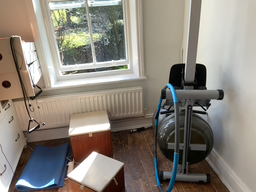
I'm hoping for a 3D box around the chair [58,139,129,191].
[{"bbox_3d":[-0.280,0.720,1.900,0.420,0.400,0.430,8,28,22],"label":"chair"}]

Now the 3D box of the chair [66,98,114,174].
[{"bbox_3d":[-0.430,0.440,2.500,0.420,0.540,0.670,-7,26,-7],"label":"chair"}]

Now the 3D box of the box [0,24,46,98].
[{"bbox_3d":[-1.250,-0.320,1.890,0.790,0.480,0.680,-8,26,-9],"label":"box"}]
